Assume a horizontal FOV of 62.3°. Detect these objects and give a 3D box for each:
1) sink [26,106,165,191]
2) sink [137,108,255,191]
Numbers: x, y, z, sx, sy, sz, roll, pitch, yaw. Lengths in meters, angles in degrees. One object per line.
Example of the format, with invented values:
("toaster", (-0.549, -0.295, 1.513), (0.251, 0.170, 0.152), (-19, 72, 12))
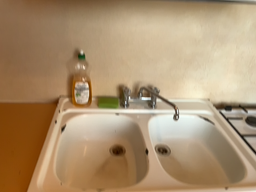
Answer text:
("sink", (-0.120, 0.240, 0.850), (0.400, 0.160, 0.490), (1, 28, -8))
("sink", (0.280, 0.250, 0.910), (0.400, 0.160, 0.490), (1, 28, -8))
